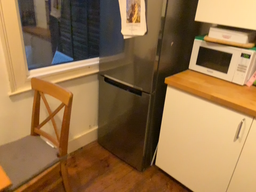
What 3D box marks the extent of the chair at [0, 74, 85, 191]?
[{"bbox_3d":[-0.670,0.390,1.410,0.530,0.860,0.520,25,33,36],"label":"chair"}]
